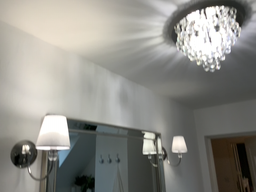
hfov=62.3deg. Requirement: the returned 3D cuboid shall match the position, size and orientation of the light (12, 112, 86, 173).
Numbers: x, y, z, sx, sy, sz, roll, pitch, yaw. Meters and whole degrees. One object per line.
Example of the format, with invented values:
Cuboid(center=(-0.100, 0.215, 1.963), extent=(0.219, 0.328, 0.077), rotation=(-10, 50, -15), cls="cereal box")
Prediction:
Cuboid(center=(-0.370, 0.230, 1.000), extent=(0.320, 0.240, 0.170), rotation=(-15, -21, 36), cls="light")
